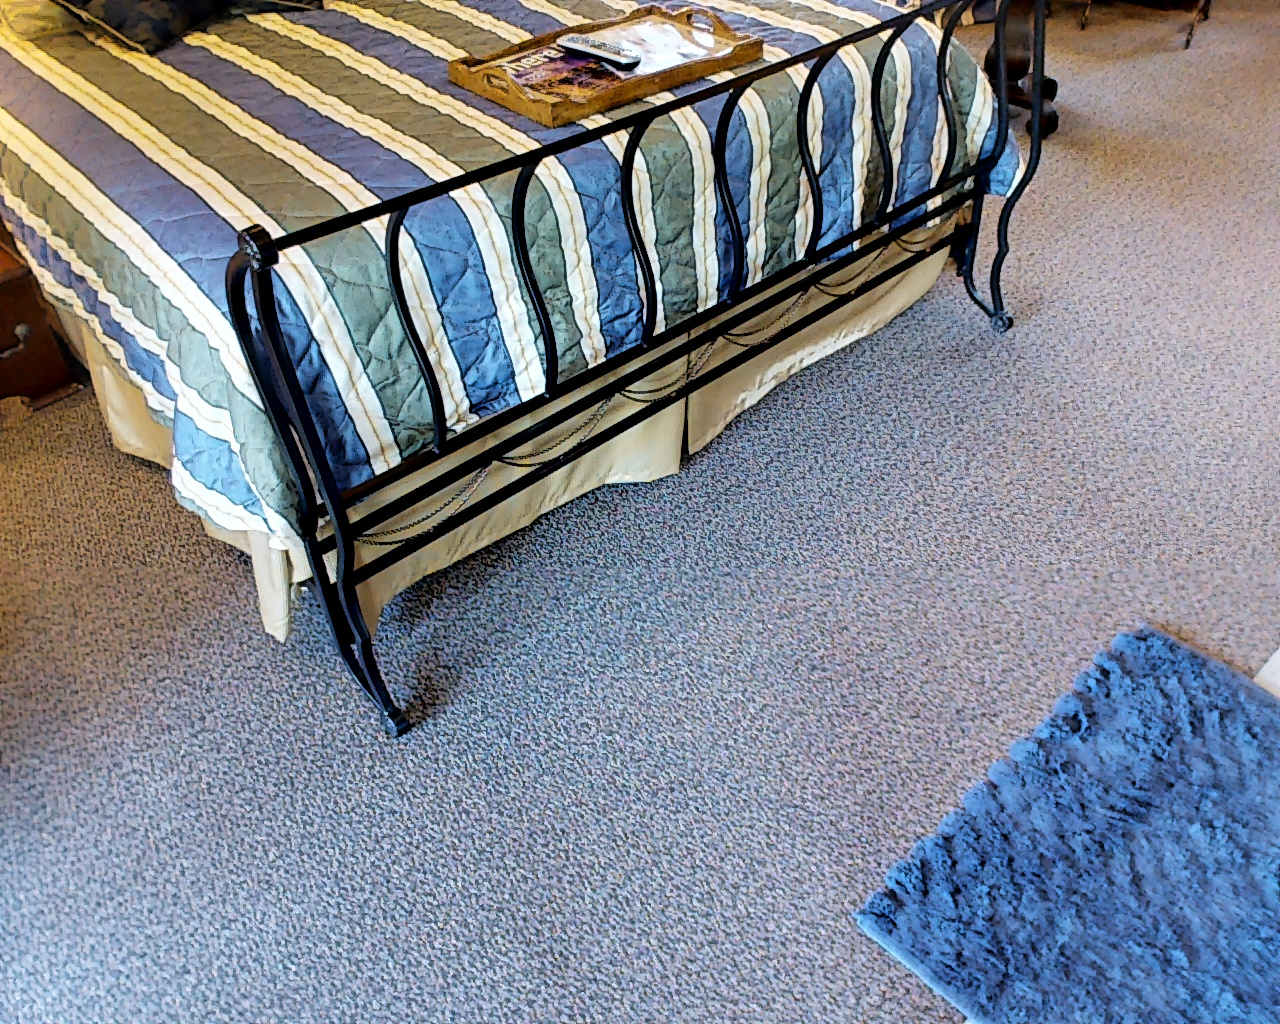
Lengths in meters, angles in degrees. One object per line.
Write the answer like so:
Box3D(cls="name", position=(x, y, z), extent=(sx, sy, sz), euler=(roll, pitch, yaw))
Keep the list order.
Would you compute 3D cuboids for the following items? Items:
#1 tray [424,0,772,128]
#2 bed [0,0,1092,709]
Box3D(cls="tray", position=(-0.080, -0.970, 2.250), extent=(0.600, 0.050, 0.410), euler=(-32, 51, -30))
Box3D(cls="bed", position=(-0.560, -1.160, 2.830), extent=(2.170, 1.150, 2.470), euler=(-32, 51, -30))
